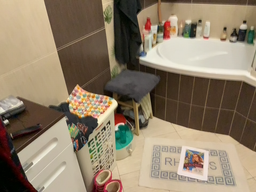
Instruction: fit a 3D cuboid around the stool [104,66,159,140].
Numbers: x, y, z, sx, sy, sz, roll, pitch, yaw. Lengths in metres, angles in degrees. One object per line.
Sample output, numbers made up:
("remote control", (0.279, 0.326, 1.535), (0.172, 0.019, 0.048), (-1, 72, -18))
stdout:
("stool", (0.050, 0.050, 1.960), (0.330, 0.500, 0.380), (14, 37, 26))
